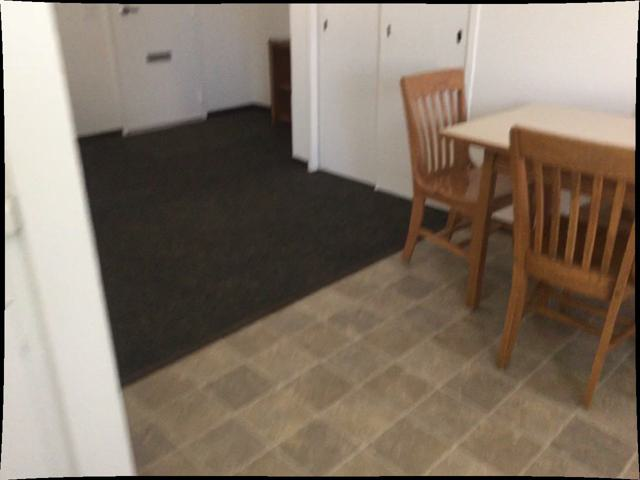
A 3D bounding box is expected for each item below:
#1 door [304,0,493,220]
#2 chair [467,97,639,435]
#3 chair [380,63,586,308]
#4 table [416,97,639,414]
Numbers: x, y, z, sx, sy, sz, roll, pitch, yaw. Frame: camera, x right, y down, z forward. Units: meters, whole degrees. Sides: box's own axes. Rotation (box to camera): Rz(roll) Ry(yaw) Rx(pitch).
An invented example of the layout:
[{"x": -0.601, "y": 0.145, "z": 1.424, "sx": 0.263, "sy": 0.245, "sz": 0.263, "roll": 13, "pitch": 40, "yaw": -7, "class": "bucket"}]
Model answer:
[{"x": 0.389, "y": -1.222, "z": 3.370, "sx": 1.249, "sy": 1.983, "sz": 0.130, "roll": 23, "pitch": 34, "yaw": 39, "class": "door"}, {"x": 0.948, "y": 0.040, "z": 1.990, "sx": 0.500, "sy": 0.891, "sz": 0.640, "roll": 23, "pitch": 34, "yaw": 39, "class": "chair"}, {"x": 0.719, "y": -0.290, "z": 2.670, "sx": 0.620, "sy": 0.891, "sz": 0.570, "roll": 23, "pitch": 34, "yaw": 39, "class": "chair"}, {"x": 1.238, "y": 0.020, "z": 2.190, "sx": 1.399, "sy": 0.771, "sz": 0.929, "roll": 23, "pitch": 34, "yaw": 39, "class": "table"}]
